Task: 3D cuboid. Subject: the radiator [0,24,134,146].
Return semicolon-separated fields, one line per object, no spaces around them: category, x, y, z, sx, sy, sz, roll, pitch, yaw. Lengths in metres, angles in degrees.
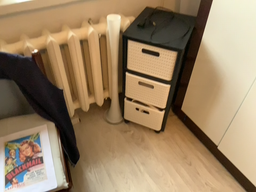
radiator;-0.330;-0.060;1.370;0.700;0.630;0.200;-19;48;-20
